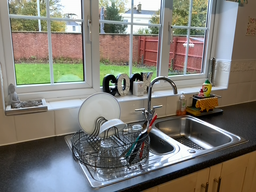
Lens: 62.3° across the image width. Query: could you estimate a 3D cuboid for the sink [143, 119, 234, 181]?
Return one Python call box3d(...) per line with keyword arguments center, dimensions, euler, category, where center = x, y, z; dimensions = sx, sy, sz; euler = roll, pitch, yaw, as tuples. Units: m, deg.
box3d(center=(0.360, 0.310, 1.360), dimensions=(0.340, 0.140, 0.440), euler=(-7, 17, -29), category="sink")
